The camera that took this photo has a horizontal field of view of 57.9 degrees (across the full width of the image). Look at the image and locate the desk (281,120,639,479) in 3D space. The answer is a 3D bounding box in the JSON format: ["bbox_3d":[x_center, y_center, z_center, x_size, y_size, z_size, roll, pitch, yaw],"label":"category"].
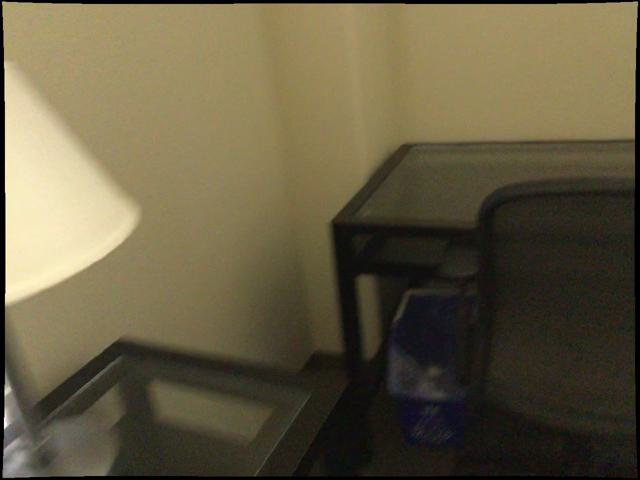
[{"bbox_3d":[0.739,0.190,1.640,1.309,0.811,0.920,4,28,25],"label":"desk"}]
